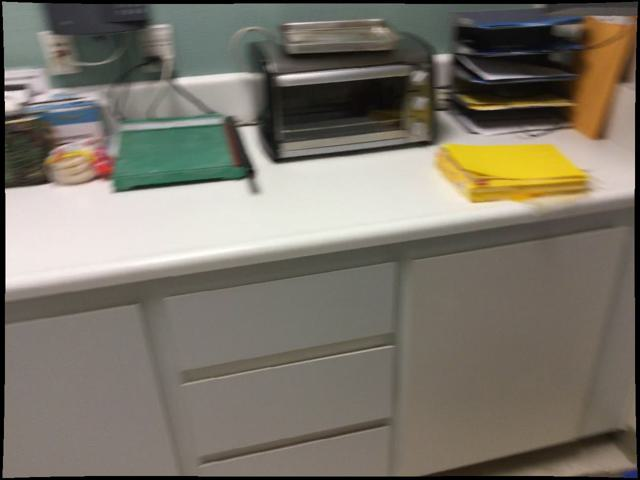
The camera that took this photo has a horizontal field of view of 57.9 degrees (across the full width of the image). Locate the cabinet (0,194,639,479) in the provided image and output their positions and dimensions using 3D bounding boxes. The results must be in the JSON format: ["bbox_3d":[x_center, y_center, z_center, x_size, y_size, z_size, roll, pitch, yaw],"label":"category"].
[{"bbox_3d":[-0.020,0.400,1.430,1.928,0.831,0.090,-9,31,-11],"label":"cabinet"}]

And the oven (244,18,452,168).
[{"bbox_3d":[0.060,-0.430,1.620,0.470,0.270,0.380,-9,31,-11],"label":"oven"}]
